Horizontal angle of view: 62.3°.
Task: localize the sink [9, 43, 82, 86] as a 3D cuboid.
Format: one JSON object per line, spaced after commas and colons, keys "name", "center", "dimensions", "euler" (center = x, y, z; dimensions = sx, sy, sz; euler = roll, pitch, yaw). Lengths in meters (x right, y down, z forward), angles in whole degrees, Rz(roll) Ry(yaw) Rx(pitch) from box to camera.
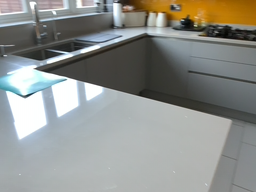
{"name": "sink", "center": [-0.690, -0.290, 1.820], "dimensions": [0.410, 0.220, 0.380], "euler": [15, 30, 28]}
